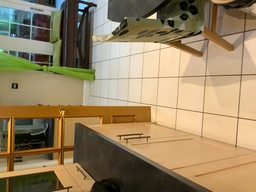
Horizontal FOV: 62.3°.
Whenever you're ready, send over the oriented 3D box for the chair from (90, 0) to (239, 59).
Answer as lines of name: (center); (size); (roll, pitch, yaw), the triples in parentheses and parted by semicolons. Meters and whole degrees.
chair: (0.270, -0.610, 1.450); (0.450, 0.930, 0.560); (4, 92, 58)
